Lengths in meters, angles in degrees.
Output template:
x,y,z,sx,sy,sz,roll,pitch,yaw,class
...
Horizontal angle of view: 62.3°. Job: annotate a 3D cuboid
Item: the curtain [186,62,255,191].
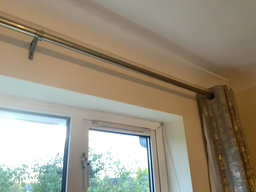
x,y,z,sx,sy,sz,roll,pitch,yaw,class
0.610,0.600,1.140,0.270,1.610,0.230,13,-27,-33,curtain
